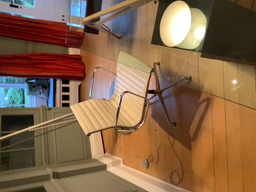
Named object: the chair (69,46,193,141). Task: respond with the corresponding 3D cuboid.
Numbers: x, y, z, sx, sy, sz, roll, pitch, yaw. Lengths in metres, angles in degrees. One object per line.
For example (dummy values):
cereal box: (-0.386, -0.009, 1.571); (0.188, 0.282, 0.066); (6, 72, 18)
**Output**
chair: (0.000, -0.040, 1.840); (0.530, 0.820, 0.570); (38, 121, 52)
